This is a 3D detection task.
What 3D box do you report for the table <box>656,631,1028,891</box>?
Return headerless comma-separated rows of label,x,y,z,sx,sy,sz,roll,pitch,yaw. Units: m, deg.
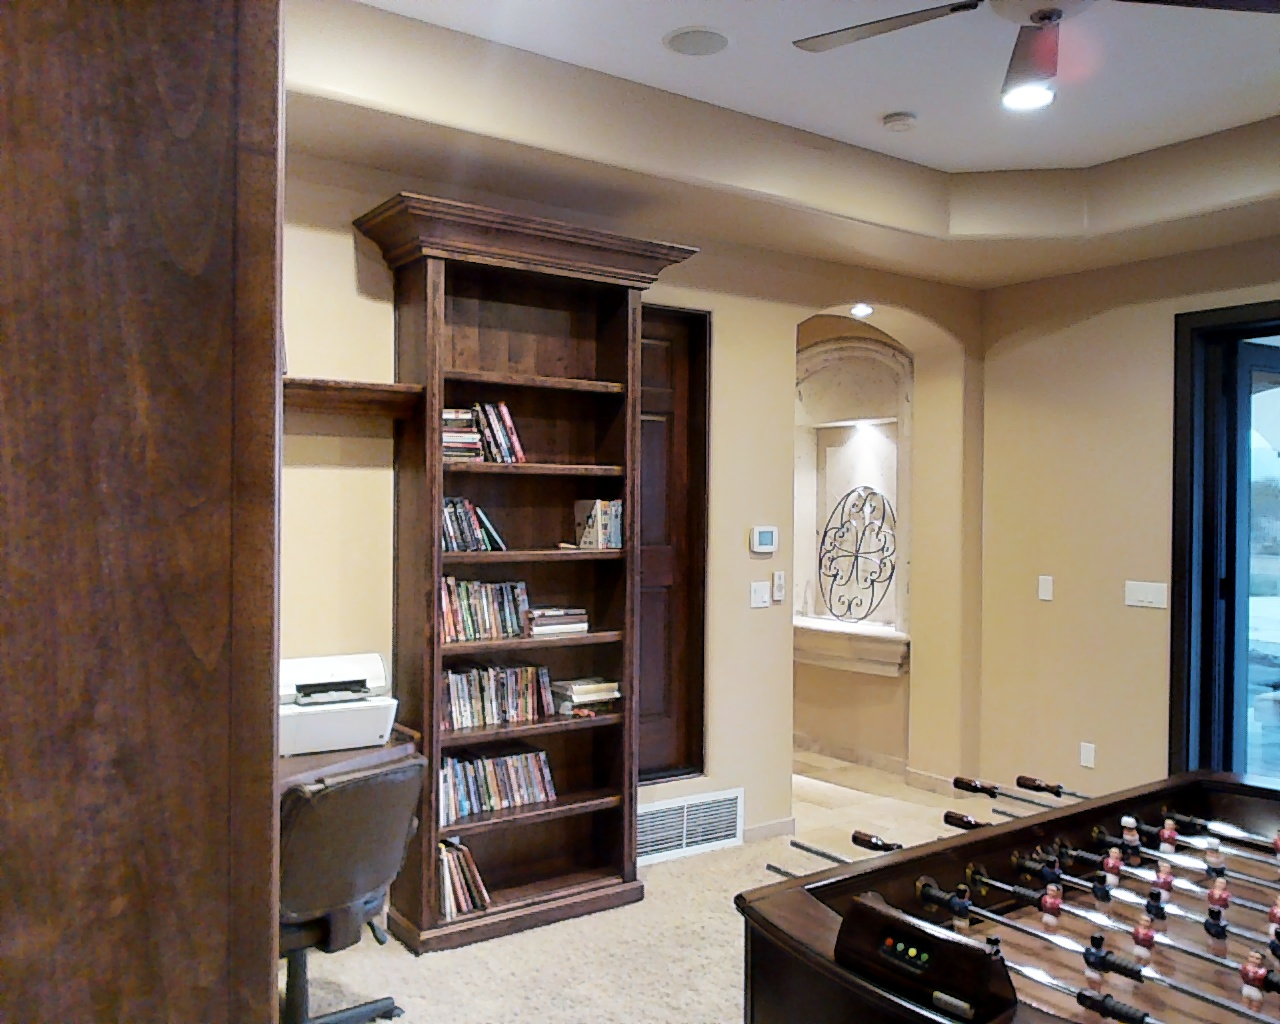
table,1.060,1.170,5.480,1.740,0.940,0.920,1,0,-36
